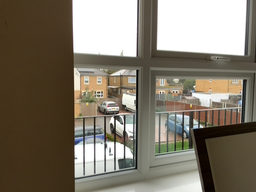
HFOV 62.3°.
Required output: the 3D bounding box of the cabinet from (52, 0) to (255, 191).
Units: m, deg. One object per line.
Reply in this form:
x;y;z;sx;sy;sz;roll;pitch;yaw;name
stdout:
0.480;-0.200;1.430;1.850;1.330;0.110;-1;5;-22;cabinet
